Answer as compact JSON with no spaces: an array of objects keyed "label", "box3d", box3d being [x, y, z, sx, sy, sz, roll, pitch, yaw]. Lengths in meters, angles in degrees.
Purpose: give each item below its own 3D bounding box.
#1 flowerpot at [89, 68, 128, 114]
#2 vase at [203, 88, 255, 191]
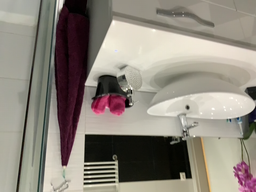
[{"label":"flowerpot","box3d":[-0.100,-0.020,1.050,0.160,0.180,0.140,4,159,-17]},{"label":"vase","box3d":[0.790,0.320,1.370,0.230,0.610,0.460,7,157,-24]}]
